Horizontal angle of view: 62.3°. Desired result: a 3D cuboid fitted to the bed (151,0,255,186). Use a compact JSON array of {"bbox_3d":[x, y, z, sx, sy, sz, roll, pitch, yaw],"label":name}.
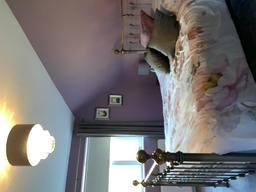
[{"bbox_3d":[0.790,-0.250,2.460,1.690,0.740,2.250,91,179,-63],"label":"bed"}]
